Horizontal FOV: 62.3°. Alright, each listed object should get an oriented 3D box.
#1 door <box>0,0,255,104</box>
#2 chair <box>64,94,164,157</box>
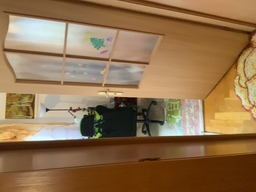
[{"bbox_3d":[-0.060,-0.240,1.670,0.810,2.230,0.060,115,149,-44],"label":"door"},{"bbox_3d":[-0.260,0.380,3.210,0.930,1.240,0.670,-162,75,-68],"label":"chair"}]
